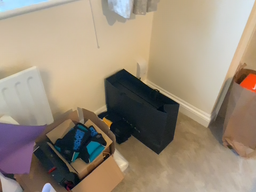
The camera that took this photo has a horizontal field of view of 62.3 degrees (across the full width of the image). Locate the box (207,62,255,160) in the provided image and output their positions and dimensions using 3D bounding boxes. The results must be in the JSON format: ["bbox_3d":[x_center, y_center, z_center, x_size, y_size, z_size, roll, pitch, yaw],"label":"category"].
[{"bbox_3d":[0.790,0.090,1.410,0.300,0.420,0.400,24,46,23],"label":"box"}]
